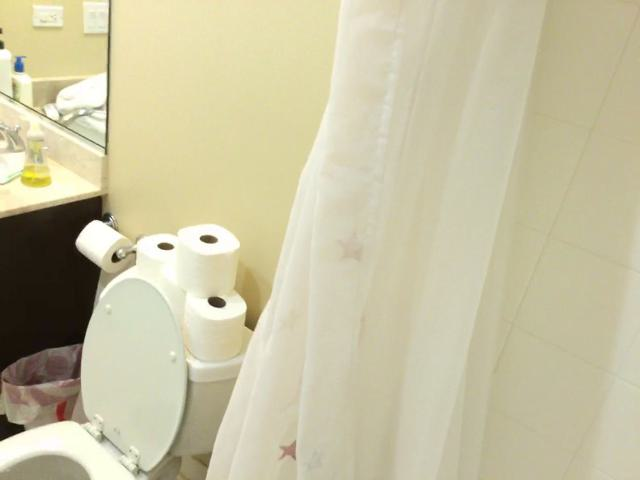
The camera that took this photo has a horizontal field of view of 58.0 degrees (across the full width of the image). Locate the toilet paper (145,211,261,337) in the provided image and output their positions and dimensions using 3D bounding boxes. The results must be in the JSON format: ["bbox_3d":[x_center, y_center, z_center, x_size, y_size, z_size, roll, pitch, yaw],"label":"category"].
[{"bbox_3d":[-0.270,0.070,1.320,0.190,0.190,0.150,27,29,28],"label":"toilet paper"}]

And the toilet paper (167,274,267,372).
[{"bbox_3d":[-0.230,0.180,1.290,0.140,0.120,0.150,27,29,28],"label":"toilet paper"}]

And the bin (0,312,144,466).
[{"bbox_3d":[-0.770,0.430,1.750,0.310,0.210,0.320,27,29,28],"label":"bin"}]

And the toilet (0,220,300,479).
[{"bbox_3d":[-0.540,0.490,1.310,0.490,0.800,0.760,27,29,28],"label":"toilet"}]
